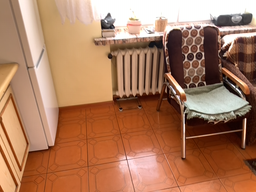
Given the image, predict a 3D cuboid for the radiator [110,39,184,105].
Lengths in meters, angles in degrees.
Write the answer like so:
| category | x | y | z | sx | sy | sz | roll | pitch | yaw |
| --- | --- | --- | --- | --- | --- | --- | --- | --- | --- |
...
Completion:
| category | x | y | z | sx | sy | sz | roll | pitch | yaw |
| --- | --- | --- | --- | --- | --- | --- | --- | --- | --- |
| radiator | 0.210 | -0.280 | 2.490 | 0.790 | 0.670 | 0.190 | -9 | 33 | -12 |
